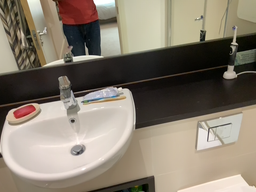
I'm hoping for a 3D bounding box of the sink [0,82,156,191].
[{"bbox_3d":[-0.220,0.190,0.870,0.540,0.220,0.470,-10,31,-8],"label":"sink"}]
